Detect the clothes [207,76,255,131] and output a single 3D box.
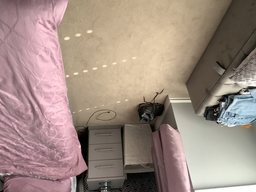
[{"bbox_3d":[0.910,0.070,1.590,0.420,0.170,0.490,-2,145,-6],"label":"clothes"}]
